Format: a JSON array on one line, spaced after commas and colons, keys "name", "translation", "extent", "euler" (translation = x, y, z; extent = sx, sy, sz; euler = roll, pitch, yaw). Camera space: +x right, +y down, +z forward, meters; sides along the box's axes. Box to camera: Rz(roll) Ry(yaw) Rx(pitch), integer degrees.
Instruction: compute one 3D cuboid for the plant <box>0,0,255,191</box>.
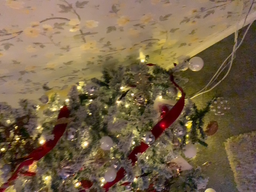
[{"name": "plant", "translation": [-0.350, 0.240, 0.990], "extent": [0.840, 1.890, 0.840], "euler": [-31, 67, 46]}]
